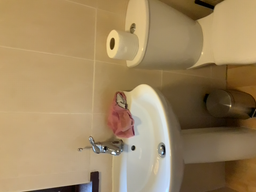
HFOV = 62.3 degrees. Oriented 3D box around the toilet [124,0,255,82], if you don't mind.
[{"bbox_3d":[0.500,-0.320,1.010,0.670,0.790,0.370,-4,83,60],"label":"toilet"}]
